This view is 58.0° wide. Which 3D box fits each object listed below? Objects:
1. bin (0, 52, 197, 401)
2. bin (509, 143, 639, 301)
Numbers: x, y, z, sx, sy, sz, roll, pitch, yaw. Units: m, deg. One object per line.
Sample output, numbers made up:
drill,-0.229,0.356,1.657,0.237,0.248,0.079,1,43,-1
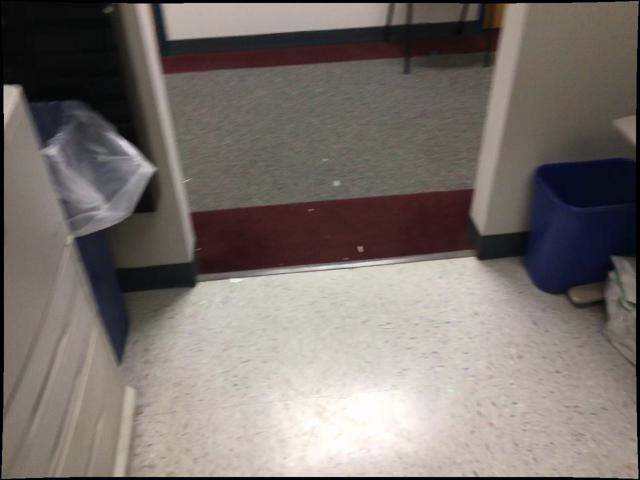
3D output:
bin,-0.748,0.000,1.550,0.668,0.811,0.370,-8,39,-5
bin,0.878,-0.060,1.830,0.409,0.361,0.270,-8,40,-4
